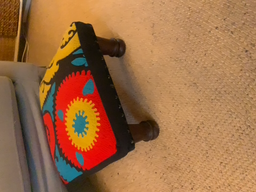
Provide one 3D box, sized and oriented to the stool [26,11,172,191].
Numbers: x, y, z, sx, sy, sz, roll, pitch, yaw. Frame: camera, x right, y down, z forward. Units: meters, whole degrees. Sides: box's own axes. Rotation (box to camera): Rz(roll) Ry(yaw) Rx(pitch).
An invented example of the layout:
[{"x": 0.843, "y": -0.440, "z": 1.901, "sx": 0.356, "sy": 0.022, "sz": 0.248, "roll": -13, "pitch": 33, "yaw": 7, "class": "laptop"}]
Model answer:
[{"x": -0.150, "y": 0.040, "z": 0.740, "sx": 0.410, "sy": 0.240, "sz": 0.430, "roll": -41, "pitch": 62, "yaw": 45, "class": "stool"}]
